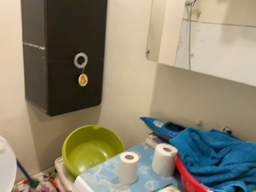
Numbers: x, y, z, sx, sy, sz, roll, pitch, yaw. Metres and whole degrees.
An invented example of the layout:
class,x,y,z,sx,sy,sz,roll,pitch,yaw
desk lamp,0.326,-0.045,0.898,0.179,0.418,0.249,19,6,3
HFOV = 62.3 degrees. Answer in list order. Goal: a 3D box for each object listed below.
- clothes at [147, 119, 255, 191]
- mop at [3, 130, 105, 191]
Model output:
class,x,y,z,sx,sy,sz,roll,pitch,yaw
clothes,0.300,0.230,0.800,0.300,0.110,0.330,-11,25,-42
mop,-0.540,0.630,1.620,0.610,0.510,0.330,-12,26,-44
